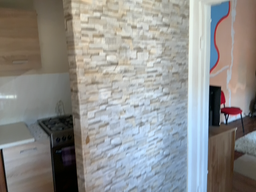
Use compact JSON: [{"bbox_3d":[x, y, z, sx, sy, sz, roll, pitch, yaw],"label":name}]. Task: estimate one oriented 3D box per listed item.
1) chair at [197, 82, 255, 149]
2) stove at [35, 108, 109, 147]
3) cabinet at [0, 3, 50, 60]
[{"bbox_3d":[1.910,0.320,4.220,0.560,1.100,0.820,-8,12,-33],"label":"chair"},{"bbox_3d":[-0.650,0.320,2.420,0.630,0.170,0.610,-9,13,-35],"label":"stove"},{"bbox_3d":[-1.100,-0.620,2.140,0.480,0.500,0.320,-9,13,-35],"label":"cabinet"}]
